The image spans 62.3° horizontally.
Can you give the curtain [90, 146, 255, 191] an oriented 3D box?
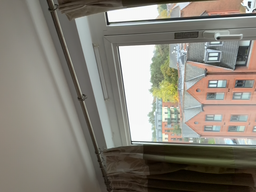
[{"bbox_3d":[0.890,0.580,1.330,0.080,2.210,0.590,-78,-15,-51],"label":"curtain"}]
